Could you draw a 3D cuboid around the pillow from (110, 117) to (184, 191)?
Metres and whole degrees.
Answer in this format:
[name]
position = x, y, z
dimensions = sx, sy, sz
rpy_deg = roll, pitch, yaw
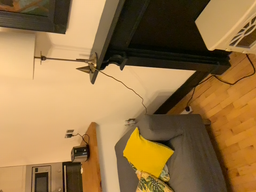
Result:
[pillow]
position = 0.150, 0.520, 1.870
dimensions = 0.210, 0.450, 0.450
rpy_deg = -28, -26, -55

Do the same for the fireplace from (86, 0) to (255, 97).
[fireplace]
position = 0.480, -0.440, 1.140
dimensions = 1.150, 0.260, 1.290
rpy_deg = 1, -31, -23
